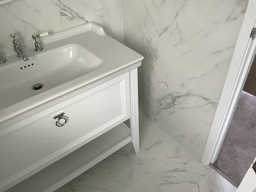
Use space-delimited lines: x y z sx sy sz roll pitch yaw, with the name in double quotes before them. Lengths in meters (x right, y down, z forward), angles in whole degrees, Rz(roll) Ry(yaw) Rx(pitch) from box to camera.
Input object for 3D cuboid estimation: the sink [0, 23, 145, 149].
"sink" -0.470 -0.090 1.080 1.010 0.140 0.540 -29 47 -27
